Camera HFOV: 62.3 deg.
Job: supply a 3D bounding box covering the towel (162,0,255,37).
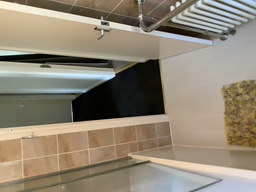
[{"bbox_3d":[0.620,-0.550,1.310,0.500,0.630,0.120,-11,82,56],"label":"towel"}]
